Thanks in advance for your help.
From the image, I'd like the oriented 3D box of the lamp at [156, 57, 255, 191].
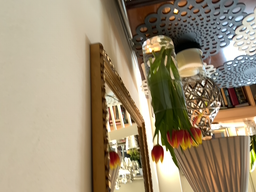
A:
[{"bbox_3d":[0.320,0.150,0.900,0.330,0.480,0.330,-7,158,4],"label":"lamp"}]
